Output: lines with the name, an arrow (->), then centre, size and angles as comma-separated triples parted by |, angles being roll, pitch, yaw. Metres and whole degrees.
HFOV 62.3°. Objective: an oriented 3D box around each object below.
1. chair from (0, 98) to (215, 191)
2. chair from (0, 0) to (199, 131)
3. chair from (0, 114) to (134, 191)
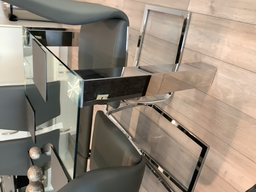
chair -> -0.110, 0.380, 1.170 | 0.540, 0.990, 0.420 | 39, 127, 44
chair -> -0.200, -0.280, 1.150 | 0.480, 1.000, 0.570 | 37, 126, 45
chair -> -0.550, 0.550, 1.820 | 0.570, 1.000, 0.400 | 40, 128, 44
